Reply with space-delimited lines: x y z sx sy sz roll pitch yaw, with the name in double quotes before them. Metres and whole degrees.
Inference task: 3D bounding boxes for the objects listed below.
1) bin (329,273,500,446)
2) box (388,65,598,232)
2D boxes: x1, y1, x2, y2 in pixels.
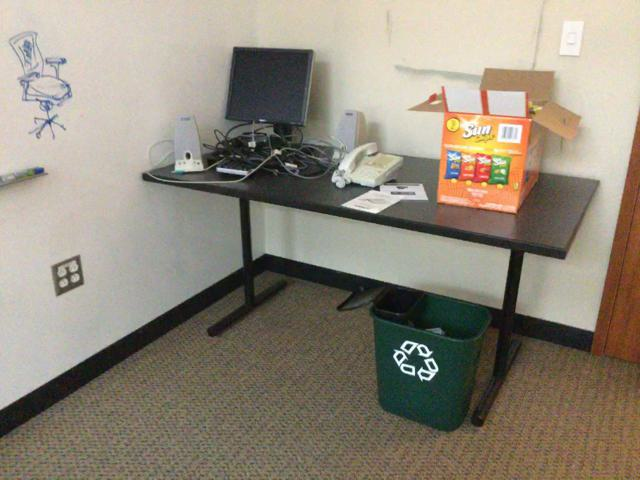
"bin" 0.320 0.390 2.010 0.490 0.380 0.290 12 23 28
"box" 0.590 -0.350 1.920 0.480 0.400 0.650 12 23 28
